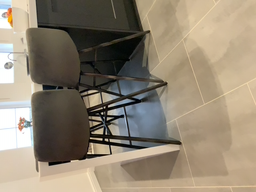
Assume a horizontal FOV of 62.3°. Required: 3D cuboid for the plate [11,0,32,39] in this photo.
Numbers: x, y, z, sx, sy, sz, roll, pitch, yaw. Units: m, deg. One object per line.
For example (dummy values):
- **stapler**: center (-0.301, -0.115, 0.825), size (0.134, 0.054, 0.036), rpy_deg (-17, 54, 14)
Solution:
- **plate**: center (-1.090, -0.780, 2.180), size (0.260, 0.170, 0.290), rpy_deg (157, 107, -64)
